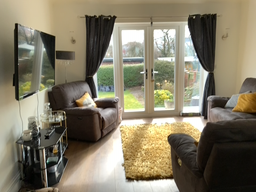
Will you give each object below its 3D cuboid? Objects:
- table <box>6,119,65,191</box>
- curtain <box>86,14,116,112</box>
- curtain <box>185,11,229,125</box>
[{"bbox_3d":[-1.040,0.660,2.500,0.400,0.600,0.620,-2,10,-4],"label":"table"},{"bbox_3d":[-0.550,-0.660,4.460,0.530,1.980,0.150,-2,10,-1],"label":"curtain"},{"bbox_3d":[1.700,-0.570,4.630,0.770,2.390,0.280,-3,10,-5],"label":"curtain"}]
